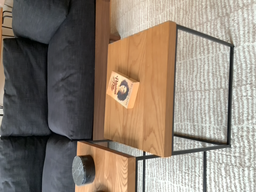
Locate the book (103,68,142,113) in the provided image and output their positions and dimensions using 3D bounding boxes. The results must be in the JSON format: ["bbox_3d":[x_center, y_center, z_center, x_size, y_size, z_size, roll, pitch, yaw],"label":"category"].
[{"bbox_3d":[-0.030,-0.030,0.870,0.200,0.030,0.130,30,111,51],"label":"book"}]
